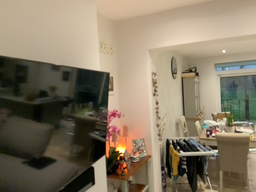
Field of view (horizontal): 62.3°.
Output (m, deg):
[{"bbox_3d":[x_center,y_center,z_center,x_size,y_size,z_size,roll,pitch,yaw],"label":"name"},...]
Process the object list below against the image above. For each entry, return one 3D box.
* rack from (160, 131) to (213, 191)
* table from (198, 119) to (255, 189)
[{"bbox_3d":[0.890,1.060,3.450,0.610,0.750,1.140,-3,2,5],"label":"rack"},{"bbox_3d":[1.970,0.970,4.130,0.920,0.790,1.760,-2,2,25],"label":"table"}]
